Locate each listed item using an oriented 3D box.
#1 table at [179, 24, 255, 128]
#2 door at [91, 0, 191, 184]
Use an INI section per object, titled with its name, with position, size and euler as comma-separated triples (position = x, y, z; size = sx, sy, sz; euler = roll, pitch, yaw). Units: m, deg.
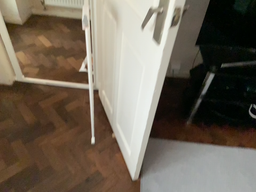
[table]
position = 1.000, -0.130, 1.680
size = 1.020, 0.540, 0.530
euler = 7, 46, 0
[door]
position = -0.030, -0.430, 0.860
size = 0.060, 1.970, 0.820
euler = -12, 49, -18
